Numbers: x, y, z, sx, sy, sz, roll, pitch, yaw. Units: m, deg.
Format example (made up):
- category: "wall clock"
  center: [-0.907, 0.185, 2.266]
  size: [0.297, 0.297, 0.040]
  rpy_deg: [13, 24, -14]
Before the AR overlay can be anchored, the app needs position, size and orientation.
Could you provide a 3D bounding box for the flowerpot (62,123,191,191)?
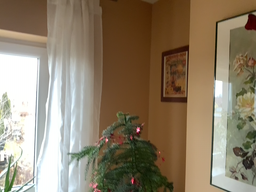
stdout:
- category: "flowerpot"
  center: [-0.020, 0.380, 0.830]
  size: [0.400, 0.500, 0.300]
  rpy_deg: [3, 0, -30]
